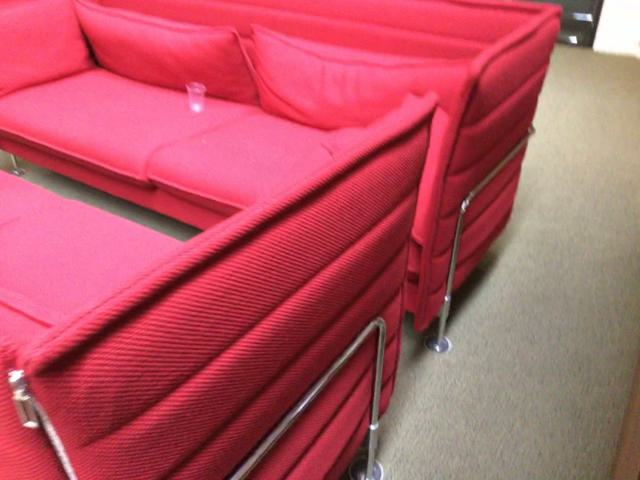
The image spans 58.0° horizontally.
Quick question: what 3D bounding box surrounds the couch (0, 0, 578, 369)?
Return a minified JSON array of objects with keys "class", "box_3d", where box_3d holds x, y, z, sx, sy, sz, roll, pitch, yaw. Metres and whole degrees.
[{"class":"couch","box_3d":[-0.470,-0.590,2.330,2.490,0.880,0.980,19,37,27]}]
